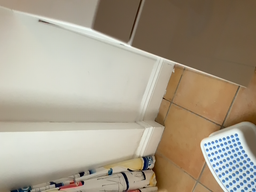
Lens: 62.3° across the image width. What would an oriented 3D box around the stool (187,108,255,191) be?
[{"bbox_3d":[0.450,0.260,0.850,0.240,0.130,0.340,-46,56,30],"label":"stool"}]
